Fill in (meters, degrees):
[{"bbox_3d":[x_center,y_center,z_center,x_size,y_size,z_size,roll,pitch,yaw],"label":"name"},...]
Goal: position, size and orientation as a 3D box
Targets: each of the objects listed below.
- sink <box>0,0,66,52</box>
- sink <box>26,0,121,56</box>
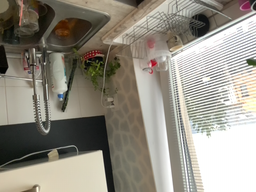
[{"bbox_3d":[-0.540,-0.370,0.860,0.380,0.160,0.510,-2,168,-39],"label":"sink"},{"bbox_3d":[-0.300,-0.380,1.060,0.260,0.160,0.510,-2,168,-39],"label":"sink"}]
